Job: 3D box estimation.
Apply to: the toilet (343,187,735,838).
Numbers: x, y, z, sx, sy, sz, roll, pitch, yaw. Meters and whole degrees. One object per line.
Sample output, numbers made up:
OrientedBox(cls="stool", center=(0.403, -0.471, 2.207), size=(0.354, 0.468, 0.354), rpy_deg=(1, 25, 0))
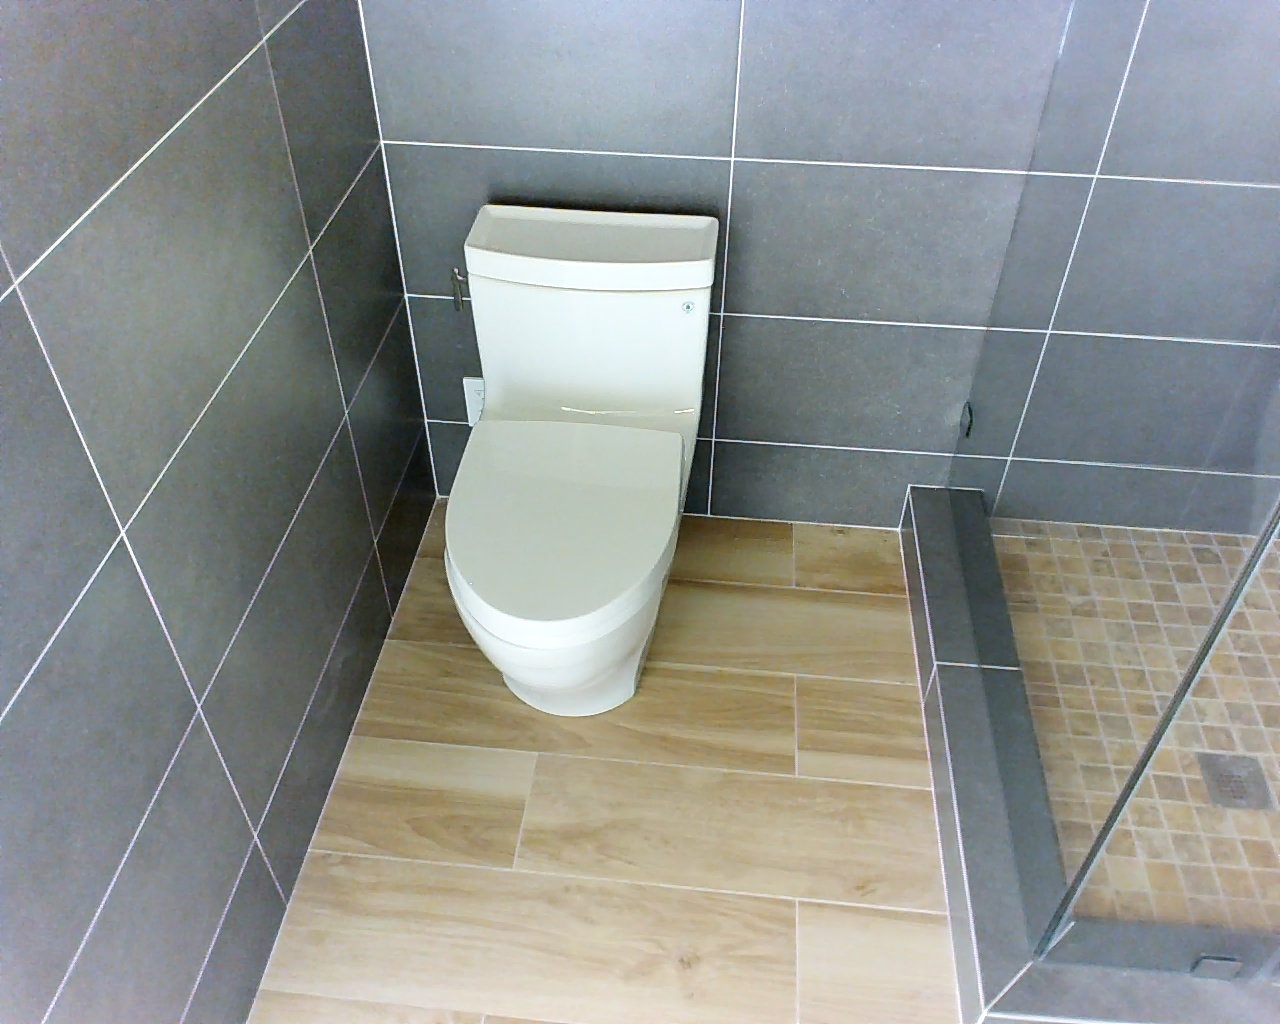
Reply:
OrientedBox(cls="toilet", center=(-0.100, -0.010, 1.830), size=(0.450, 0.770, 0.760), rpy_deg=(4, 43, 4))
